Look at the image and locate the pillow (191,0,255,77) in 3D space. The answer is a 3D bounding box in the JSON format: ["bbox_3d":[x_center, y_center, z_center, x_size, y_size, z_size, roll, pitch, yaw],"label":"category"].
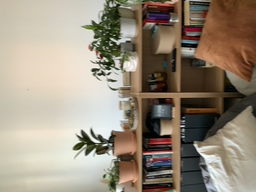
[{"bbox_3d":[0.650,-0.420,1.330,0.430,0.230,0.490,-118,33,-66],"label":"pillow"}]

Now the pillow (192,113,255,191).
[{"bbox_3d":[0.640,0.420,1.220,0.410,0.240,0.490,-103,18,-46],"label":"pillow"}]
